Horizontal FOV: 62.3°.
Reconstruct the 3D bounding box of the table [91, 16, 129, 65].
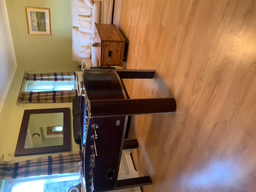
[{"bbox_3d":[-0.390,-1.090,4.100,1.020,0.500,0.530,-112,26,-49],"label":"table"}]
